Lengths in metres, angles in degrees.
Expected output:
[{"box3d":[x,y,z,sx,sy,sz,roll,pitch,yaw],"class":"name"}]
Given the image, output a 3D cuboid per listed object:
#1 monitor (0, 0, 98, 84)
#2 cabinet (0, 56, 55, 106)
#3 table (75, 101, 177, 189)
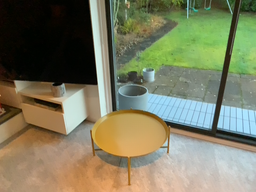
[{"box3d":[-0.930,-0.530,1.910,1.280,0.820,0.040,5,30,11],"class":"monitor"},{"box3d":[-1.250,-0.200,2.530,0.530,0.400,0.400,13,31,24],"class":"cabinet"},{"box3d":[0.020,0.400,2.040,0.710,0.280,0.720,11,30,22],"class":"table"}]
